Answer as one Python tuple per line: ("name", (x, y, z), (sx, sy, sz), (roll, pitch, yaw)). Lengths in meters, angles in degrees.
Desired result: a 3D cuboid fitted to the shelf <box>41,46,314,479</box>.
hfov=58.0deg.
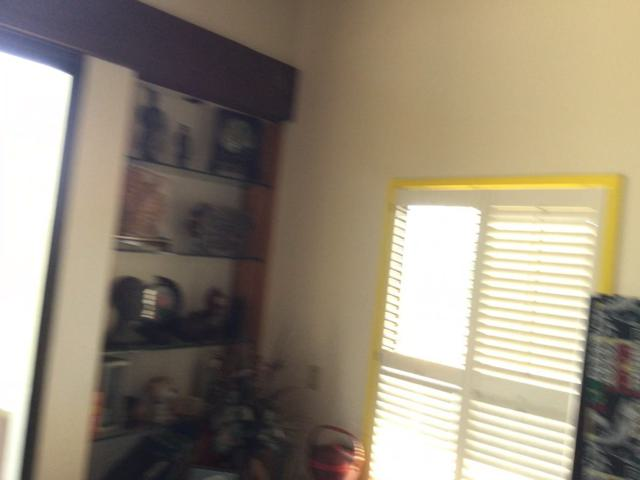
("shelf", (-0.640, 0.280, 2.790), (0.960, 2.020, 0.610), (10, -11, -42))
